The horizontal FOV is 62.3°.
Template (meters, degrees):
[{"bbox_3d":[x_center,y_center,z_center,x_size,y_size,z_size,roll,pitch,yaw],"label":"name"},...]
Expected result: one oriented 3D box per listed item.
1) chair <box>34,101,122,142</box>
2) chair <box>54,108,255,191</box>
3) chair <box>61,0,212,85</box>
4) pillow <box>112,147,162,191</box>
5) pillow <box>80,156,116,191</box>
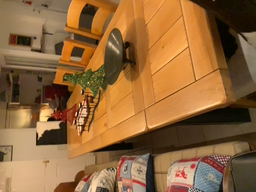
[{"bbox_3d":[-0.780,0.410,3.260,0.650,1.180,0.470,145,123,-60],"label":"chair"},{"bbox_3d":[-0.050,0.800,1.990,2.990,0.900,0.610,144,125,-59],"label":"chair"},{"bbox_3d":[0.060,-0.410,1.680,0.430,1.070,0.440,140,127,-58],"label":"chair"},{"bbox_3d":[0.040,0.580,1.600,0.500,0.130,0.300,139,128,-57],"label":"pillow"},{"bbox_3d":[-0.330,0.830,2.190,0.550,0.200,0.350,144,125,-59],"label":"pillow"}]
